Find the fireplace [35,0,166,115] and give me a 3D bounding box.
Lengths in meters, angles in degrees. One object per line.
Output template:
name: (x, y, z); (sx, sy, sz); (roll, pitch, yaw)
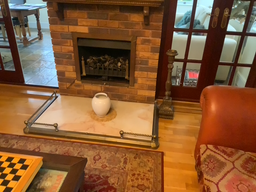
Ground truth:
fireplace: (-0.270, -0.470, 2.420); (1.240, 1.190, 0.430); (6, 29, 6)
